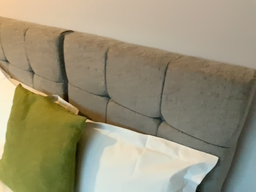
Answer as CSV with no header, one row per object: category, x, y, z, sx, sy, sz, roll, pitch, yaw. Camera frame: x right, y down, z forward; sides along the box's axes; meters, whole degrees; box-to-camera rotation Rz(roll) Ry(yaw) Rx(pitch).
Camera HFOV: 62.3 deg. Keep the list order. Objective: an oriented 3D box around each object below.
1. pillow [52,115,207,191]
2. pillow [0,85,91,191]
pillow,0.000,0.310,0.870,0.570,0.400,0.210,-1,13,32
pillow,-0.510,0.260,0.990,0.670,0.510,0.160,-8,6,34
